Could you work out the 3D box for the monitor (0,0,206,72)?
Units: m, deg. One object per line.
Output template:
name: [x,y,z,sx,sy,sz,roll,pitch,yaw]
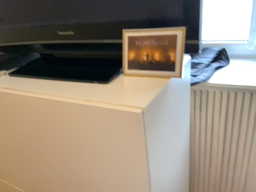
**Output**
monitor: [-0.240,-0.430,0.680,0.940,0.670,0.050,7,28,25]
